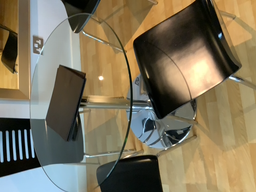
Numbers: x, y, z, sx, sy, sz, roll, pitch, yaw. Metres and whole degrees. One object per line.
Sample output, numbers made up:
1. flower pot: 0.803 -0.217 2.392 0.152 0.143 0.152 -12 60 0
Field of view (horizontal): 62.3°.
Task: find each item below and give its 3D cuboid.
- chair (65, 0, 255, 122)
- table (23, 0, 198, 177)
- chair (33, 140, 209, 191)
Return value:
1. chair: 0.260 -0.190 0.930 0.500 0.830 0.420 -33 66 36
2. table: -0.070 -0.010 1.220 0.630 0.760 0.610 -1 87 42
3. chair: 0.040 0.550 1.080 0.410 0.830 0.500 -22 73 40
